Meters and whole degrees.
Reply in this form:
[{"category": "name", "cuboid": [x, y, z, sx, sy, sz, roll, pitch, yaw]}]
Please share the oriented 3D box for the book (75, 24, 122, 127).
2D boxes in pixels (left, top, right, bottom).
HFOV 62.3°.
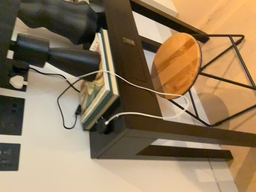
[{"category": "book", "cuboid": [-0.130, -0.080, 0.820, 0.200, 0.070, 0.340, -46, 44, 42]}]
